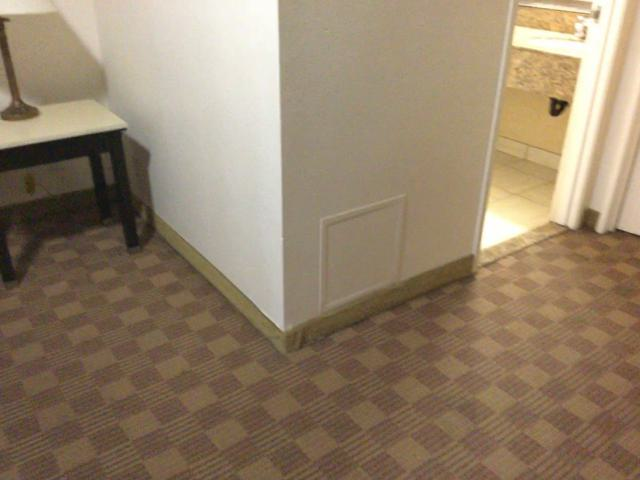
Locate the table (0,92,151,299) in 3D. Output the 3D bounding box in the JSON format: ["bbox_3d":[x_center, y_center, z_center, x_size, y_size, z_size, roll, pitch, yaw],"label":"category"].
[{"bbox_3d":[-1.200,-0.240,2.520,0.630,0.620,0.620,-19,32,-33],"label":"table"}]

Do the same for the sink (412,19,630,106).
[{"bbox_3d":[1.060,-1.010,3.180,0.580,0.310,0.940,-19,31,-34],"label":"sink"}]
